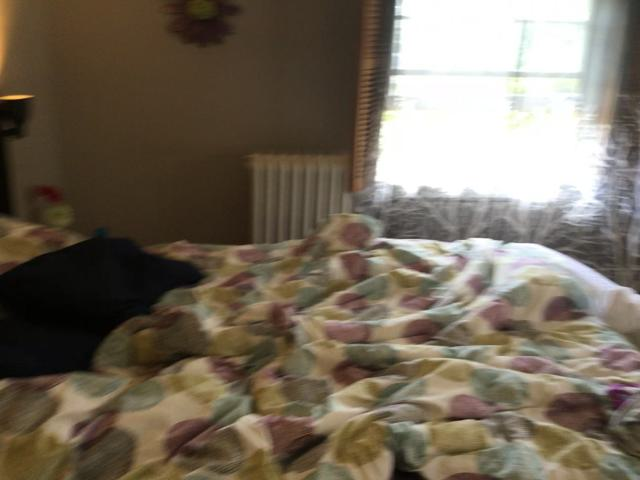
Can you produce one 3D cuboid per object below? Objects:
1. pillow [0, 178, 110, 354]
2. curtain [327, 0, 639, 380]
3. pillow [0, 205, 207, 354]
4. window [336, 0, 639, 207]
[{"bbox_3d":[-0.990,0.040,1.830,0.400,0.280,0.800,-3,20,-5],"label":"pillow"},{"bbox_3d":[0.910,-0.500,2.720,1.670,2.100,0.710,-3,20,-5],"label":"curtain"},{"bbox_3d":[-0.690,0.090,1.850,0.570,0.200,0.670,-3,20,-5],"label":"pillow"},{"bbox_3d":[0.940,-0.850,2.740,1.700,1.280,0.300,-3,20,-5],"label":"window"}]
